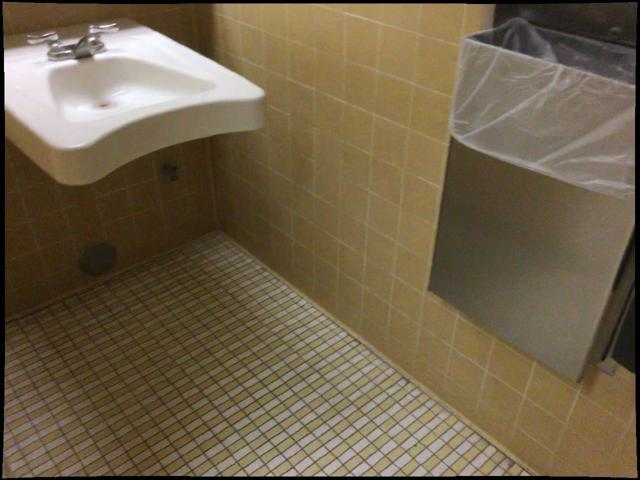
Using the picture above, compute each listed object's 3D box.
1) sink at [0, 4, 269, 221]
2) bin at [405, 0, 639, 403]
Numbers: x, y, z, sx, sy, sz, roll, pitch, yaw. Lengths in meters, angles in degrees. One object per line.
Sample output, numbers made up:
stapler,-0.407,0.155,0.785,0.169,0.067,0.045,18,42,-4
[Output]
sink,-0.559,-0.371,1.420,0.529,0.180,0.710,-28,45,-34
bin,0.459,-0.211,1.070,0.250,0.962,0.450,-28,45,-34
